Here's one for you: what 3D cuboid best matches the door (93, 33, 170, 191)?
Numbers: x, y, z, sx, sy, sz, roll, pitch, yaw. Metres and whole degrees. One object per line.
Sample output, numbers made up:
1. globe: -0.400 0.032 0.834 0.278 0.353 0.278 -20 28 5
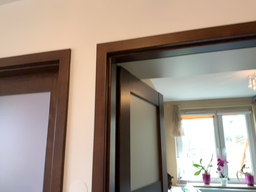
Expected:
1. door: 0.090 0.760 1.380 0.120 2.080 0.920 -7 -15 26
